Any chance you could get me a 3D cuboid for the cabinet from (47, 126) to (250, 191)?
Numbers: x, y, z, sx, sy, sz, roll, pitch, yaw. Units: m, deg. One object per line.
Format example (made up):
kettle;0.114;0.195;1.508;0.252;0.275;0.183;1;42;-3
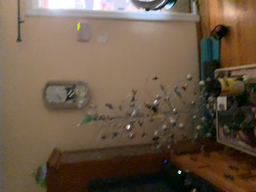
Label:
cabinet;0.200;0.690;2.210;0.720;1.850;0.540;175;93;-76
